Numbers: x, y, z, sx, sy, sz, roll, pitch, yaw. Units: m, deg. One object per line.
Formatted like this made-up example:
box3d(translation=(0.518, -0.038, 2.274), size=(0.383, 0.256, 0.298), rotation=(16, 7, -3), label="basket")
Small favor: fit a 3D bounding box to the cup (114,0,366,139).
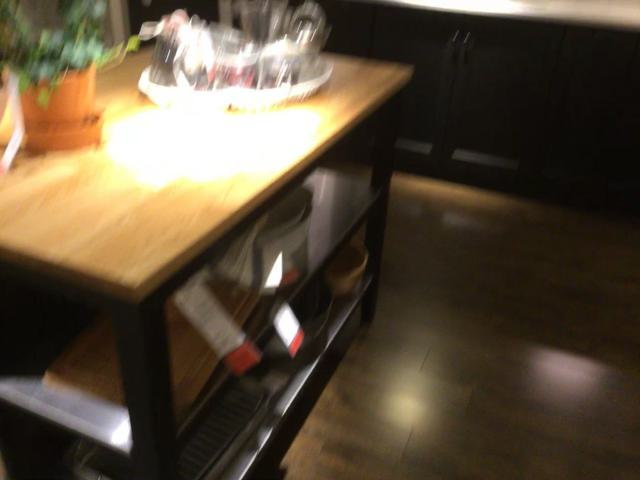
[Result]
box3d(translation=(-0.170, -0.470, 1.460), size=(0.380, 0.200, 0.530), rotation=(16, 33, 21), label="cup")
